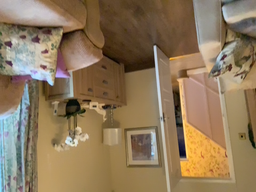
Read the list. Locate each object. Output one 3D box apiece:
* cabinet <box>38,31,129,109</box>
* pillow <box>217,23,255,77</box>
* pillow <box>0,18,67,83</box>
[{"bbox_3d":[-0.530,-0.250,3.190,0.490,0.770,1.650,-7,172,20],"label":"cabinet"},{"bbox_3d":[1.030,-0.390,1.870,0.370,0.340,0.190,19,180,-32],"label":"pillow"},{"bbox_3d":[-0.630,-0.260,1.360,0.400,0.270,0.390,-1,172,-25],"label":"pillow"}]
